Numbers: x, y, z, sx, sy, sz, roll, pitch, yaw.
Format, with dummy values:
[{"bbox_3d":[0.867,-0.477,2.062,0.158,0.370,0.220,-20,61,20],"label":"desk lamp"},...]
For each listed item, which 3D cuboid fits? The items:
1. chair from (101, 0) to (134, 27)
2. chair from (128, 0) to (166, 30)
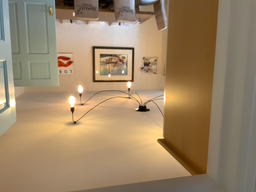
[{"bbox_3d":[-0.190,-1.760,3.700,0.380,0.960,0.590,-4,-170,-25],"label":"chair"},{"bbox_3d":[0.360,-1.820,4.110,0.610,0.970,0.420,-3,-170,-16],"label":"chair"}]
